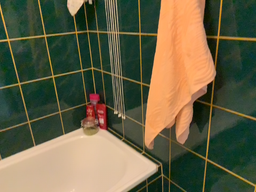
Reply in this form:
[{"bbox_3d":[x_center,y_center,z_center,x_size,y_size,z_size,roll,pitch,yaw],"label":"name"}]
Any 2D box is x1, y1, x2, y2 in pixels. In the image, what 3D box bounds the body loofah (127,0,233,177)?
[{"bbox_3d":[0.170,-0.200,0.780,0.180,0.940,0.310,-18,26,-34],"label":"body loofah"}]
